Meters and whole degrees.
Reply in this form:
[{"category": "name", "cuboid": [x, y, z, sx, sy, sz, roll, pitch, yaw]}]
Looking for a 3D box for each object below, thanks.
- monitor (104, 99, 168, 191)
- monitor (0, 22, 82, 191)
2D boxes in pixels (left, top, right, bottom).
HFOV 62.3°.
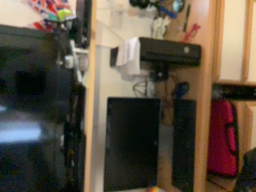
[{"category": "monitor", "cuboid": [0.050, 0.270, 1.200, 0.040, 0.340, 0.490, -169, 82, -70]}, {"category": "monitor", "cuboid": [-0.520, 0.190, 0.880, 0.050, 0.620, 0.960, 13, 101, 63]}]
